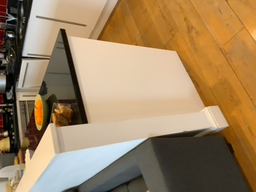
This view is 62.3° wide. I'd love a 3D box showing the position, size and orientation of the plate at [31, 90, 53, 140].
[{"bbox_3d":[-0.580,0.130,1.410,0.250,0.060,0.240,-48,53,44],"label":"plate"}]
